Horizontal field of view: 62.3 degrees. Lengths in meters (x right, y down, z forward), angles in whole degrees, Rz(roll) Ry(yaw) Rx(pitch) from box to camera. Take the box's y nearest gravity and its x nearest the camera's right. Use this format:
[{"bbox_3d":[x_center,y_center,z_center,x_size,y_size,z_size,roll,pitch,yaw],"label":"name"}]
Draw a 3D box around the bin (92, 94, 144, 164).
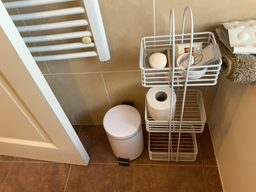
[{"bbox_3d":[-0.030,0.160,1.020,0.190,0.240,0.240,0,49,8],"label":"bin"}]
